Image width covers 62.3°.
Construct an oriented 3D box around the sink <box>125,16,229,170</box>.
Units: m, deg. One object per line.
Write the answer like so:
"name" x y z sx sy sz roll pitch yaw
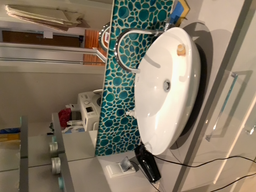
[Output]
"sink" 0.170 -0.020 1.010 0.380 0.130 0.610 -129 44 -52
